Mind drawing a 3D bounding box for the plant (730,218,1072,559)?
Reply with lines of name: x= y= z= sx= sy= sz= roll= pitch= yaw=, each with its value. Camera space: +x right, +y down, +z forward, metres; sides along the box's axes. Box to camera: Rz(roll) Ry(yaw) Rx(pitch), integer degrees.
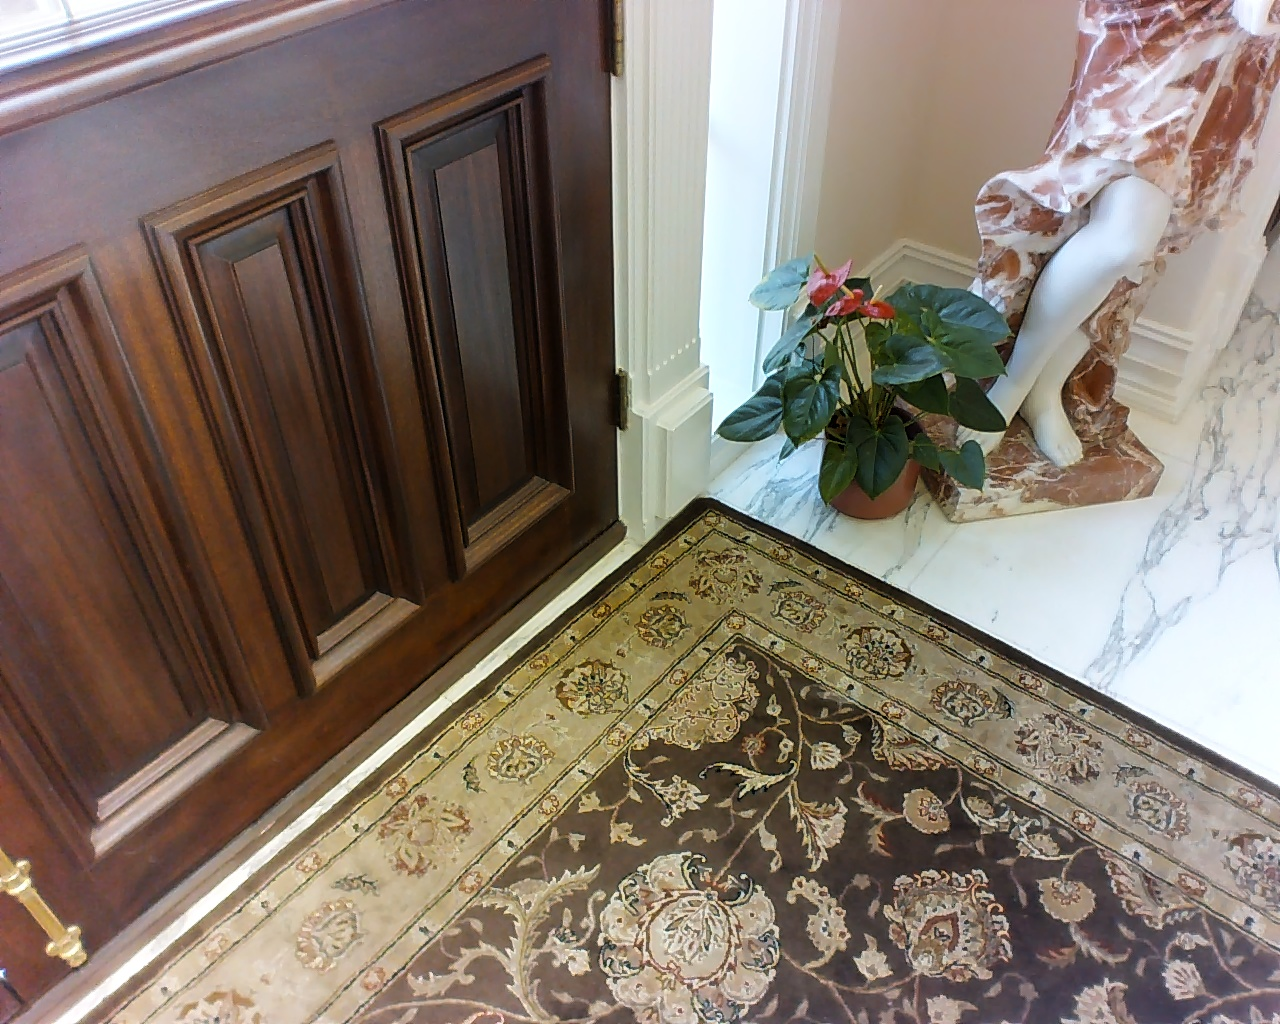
plant: x=0.460 y=-0.250 z=2.100 sx=0.520 sy=0.440 sz=0.510 roll=2 pitch=42 yaw=1
